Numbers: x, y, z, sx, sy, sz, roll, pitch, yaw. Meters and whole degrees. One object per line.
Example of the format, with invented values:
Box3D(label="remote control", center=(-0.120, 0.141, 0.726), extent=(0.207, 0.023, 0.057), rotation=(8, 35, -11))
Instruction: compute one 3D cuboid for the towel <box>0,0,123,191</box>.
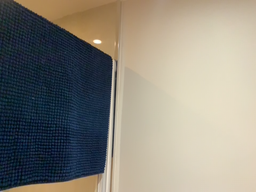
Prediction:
Box3D(label="towel", center=(-0.250, 0.020, 0.610), extent=(0.180, 0.500, 0.590), rotation=(-2, -9, 28))
